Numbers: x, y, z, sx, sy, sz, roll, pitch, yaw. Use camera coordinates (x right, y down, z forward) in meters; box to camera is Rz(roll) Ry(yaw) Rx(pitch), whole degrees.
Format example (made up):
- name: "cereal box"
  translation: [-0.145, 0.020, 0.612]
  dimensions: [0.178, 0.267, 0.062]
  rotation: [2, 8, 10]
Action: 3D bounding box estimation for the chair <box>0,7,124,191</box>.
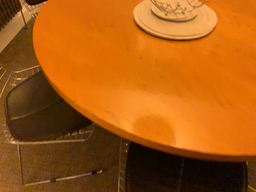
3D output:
- name: "chair"
  translation: [-0.390, 0.060, 1.070]
  dimensions: [0.590, 0.710, 0.440]
  rotation: [-28, 55, -23]
